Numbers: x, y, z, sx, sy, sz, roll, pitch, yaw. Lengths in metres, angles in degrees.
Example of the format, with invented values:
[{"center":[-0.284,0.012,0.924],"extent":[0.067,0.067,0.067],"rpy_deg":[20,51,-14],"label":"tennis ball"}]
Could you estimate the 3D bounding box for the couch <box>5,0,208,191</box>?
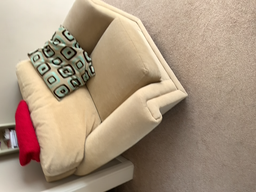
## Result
[{"center":[-0.250,-0.110,1.670],"extent":[0.930,0.870,1.170],"rpy_deg":[-43,64,37],"label":"couch"}]
